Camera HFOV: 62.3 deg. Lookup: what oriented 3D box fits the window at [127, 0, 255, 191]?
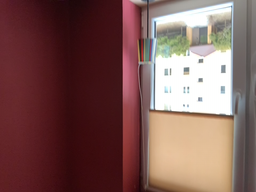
[{"bbox_3d":[0.630,0.050,1.210,1.450,1.550,0.190,2,-177,38],"label":"window"}]
